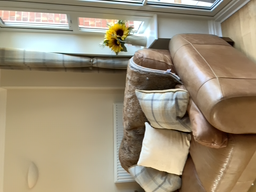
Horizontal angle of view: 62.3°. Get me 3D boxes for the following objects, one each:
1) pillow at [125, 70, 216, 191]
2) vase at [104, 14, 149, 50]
[{"bbox_3d":[0.250,0.430,1.730,0.360,0.370,1.240,-106,19,-53],"label":"pillow"},{"bbox_3d":[-0.030,-0.620,2.100,0.310,0.380,0.300,-129,40,-72],"label":"vase"}]
